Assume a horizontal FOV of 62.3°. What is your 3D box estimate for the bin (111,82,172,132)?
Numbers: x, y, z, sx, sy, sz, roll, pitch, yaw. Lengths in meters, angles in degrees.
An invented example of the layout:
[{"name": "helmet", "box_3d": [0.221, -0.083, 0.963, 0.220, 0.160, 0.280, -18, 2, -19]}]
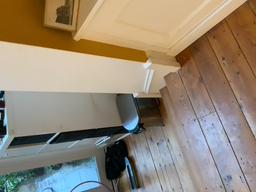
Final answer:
[{"name": "bin", "box_3d": [0.140, 0.110, 2.220, 0.260, 0.480, 0.420, -38, 62, 43]}]
